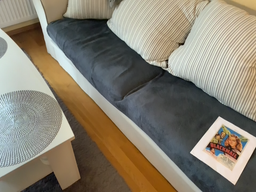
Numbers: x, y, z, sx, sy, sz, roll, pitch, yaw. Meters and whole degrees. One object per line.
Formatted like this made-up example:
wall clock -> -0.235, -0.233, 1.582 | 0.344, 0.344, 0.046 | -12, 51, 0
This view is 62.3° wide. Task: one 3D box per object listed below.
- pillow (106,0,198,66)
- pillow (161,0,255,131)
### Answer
pillow -> 0.130, -0.550, 1.500 | 0.290, 0.370, 0.550 | -30, 55, -29
pillow -> 0.570, -0.210, 1.160 | 0.340, 0.400, 0.650 | -34, 58, -29
